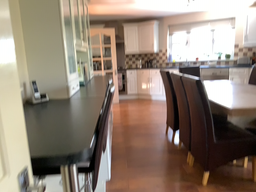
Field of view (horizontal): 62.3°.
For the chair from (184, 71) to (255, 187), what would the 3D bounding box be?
[{"bbox_3d":[0.890,0.290,2.080,0.550,1.000,0.450,-3,11,-1],"label":"chair"}]
